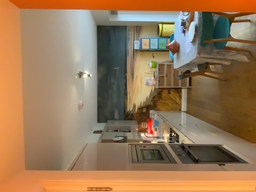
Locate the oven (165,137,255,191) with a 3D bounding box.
[{"bbox_3d":[0.770,0.780,2.170,0.640,0.640,0.570,-134,46,-87],"label":"oven"}]

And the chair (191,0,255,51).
[{"bbox_3d":[1.260,-0.850,2.640,0.510,0.790,0.440,-166,77,-88],"label":"chair"}]

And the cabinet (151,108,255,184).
[{"bbox_3d":[1.130,0.690,4.150,3.250,0.890,0.610,-134,46,-87],"label":"cabinet"}]
